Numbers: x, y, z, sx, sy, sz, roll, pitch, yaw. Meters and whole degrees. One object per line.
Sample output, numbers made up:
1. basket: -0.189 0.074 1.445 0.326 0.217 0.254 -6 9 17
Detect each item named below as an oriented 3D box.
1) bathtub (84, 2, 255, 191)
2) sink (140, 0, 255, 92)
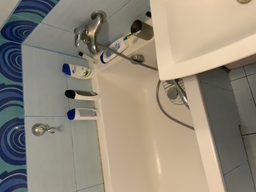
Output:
1. bathtub: 0.280 0.430 1.240 0.690 0.580 1.580 -22 72 39
2. sink: 0.340 -0.320 0.650 0.600 0.160 0.450 -21 72 39
